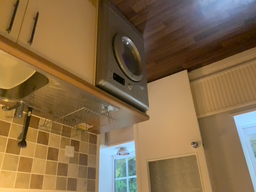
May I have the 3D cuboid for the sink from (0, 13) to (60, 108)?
[{"bbox_3d":[-0.740,-0.180,1.180,0.490,0.240,0.470,-20,147,31],"label":"sink"}]

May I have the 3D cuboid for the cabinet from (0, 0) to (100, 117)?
[{"bbox_3d":[-0.760,-0.520,1.280,0.580,0.910,1.070,-20,147,31],"label":"cabinet"}]
